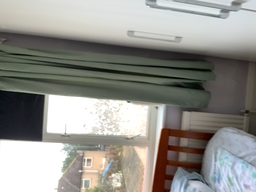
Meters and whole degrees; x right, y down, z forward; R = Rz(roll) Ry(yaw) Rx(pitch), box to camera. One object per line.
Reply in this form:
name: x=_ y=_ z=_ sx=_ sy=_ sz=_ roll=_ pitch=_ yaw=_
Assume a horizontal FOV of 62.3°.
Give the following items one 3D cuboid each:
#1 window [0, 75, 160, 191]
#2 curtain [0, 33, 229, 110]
window: x=-0.470 y=0.660 z=1.980 sx=0.090 sy=1.420 sz=1.570 roll=-165 pitch=80 yaw=-81
curtain: x=-0.150 y=-0.170 z=1.650 sx=0.190 sy=1.880 sz=0.400 roll=-162 pitch=76 yaw=-81
